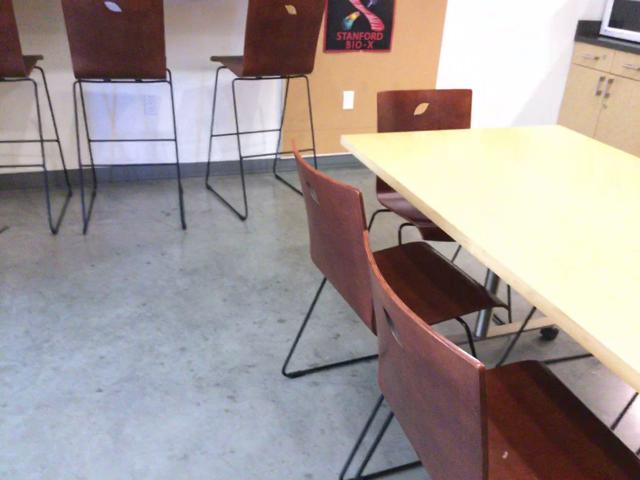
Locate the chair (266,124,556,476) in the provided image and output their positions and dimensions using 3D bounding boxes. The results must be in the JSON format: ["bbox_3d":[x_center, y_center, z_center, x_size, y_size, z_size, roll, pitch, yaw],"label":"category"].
[{"bbox_3d":[0.180,0.140,1.660,0.590,0.820,0.500,-3,26,-13],"label":"chair"}]

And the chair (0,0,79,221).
[{"bbox_3d":[-1.490,-0.620,2.660,0.550,0.950,0.490,-4,27,-15],"label":"chair"}]

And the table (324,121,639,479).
[{"bbox_3d":[0.740,0.290,1.520,1.020,0.740,1.840,-3,26,-13],"label":"table"}]

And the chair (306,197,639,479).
[{"bbox_3d":[0.320,0.340,1.120,0.580,0.690,0.490,-3,26,-13],"label":"chair"}]

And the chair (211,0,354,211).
[{"bbox_3d":[-0.230,-0.760,3.050,0.530,1.040,0.590,-7,24,-25],"label":"chair"}]
